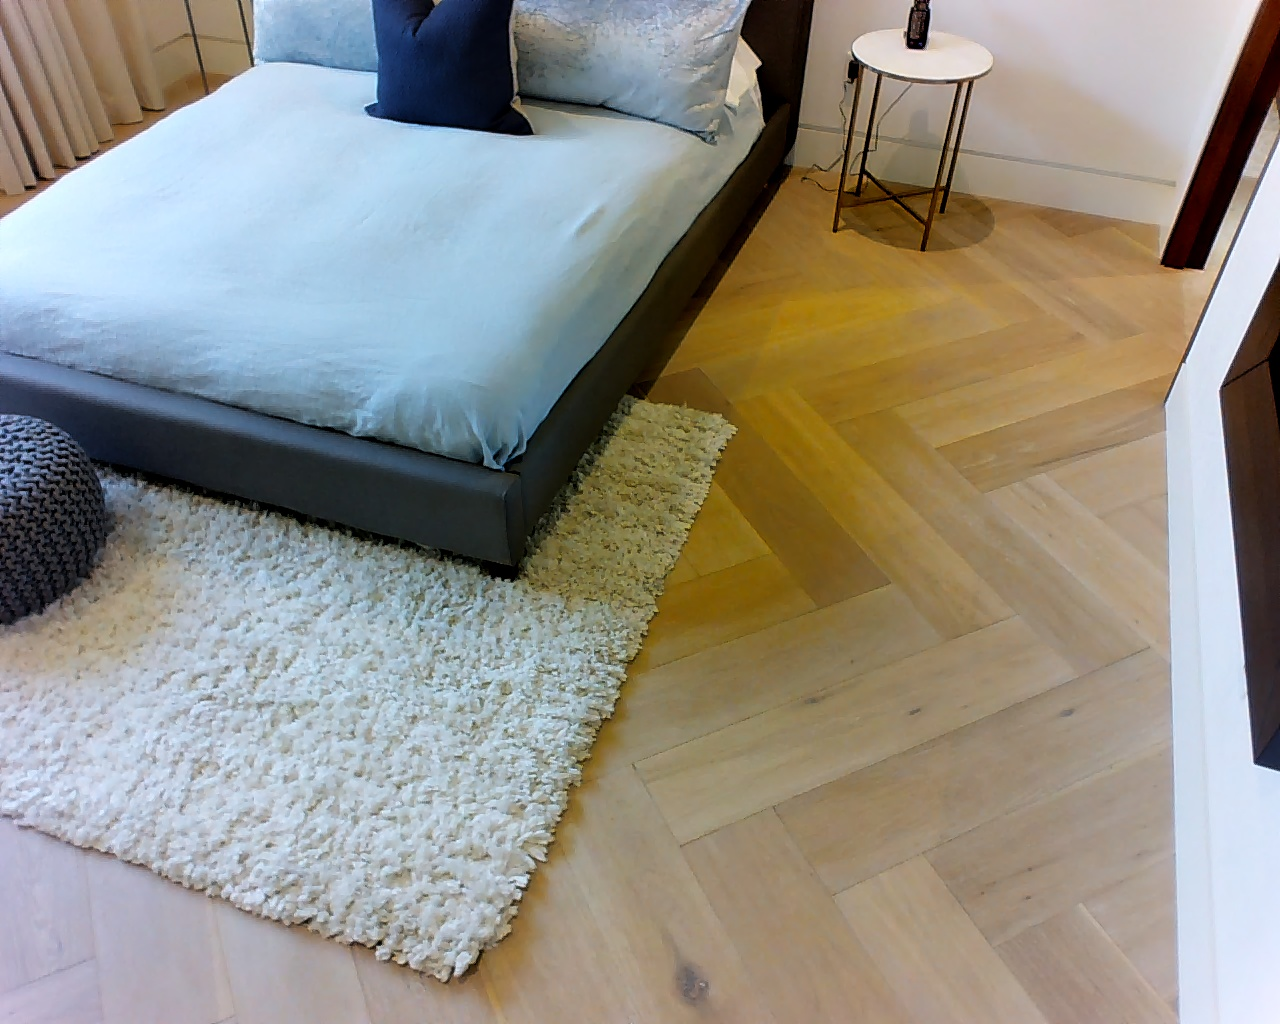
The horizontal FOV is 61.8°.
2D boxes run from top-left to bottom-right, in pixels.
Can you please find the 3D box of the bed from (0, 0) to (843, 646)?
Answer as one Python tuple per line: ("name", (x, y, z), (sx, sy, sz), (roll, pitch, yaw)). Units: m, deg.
("bed", (-0.600, -1.050, 2.900), (1.850, 1.050, 2.320), (13, 43, 14))
